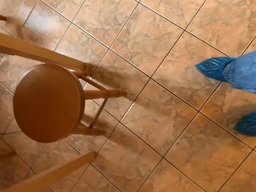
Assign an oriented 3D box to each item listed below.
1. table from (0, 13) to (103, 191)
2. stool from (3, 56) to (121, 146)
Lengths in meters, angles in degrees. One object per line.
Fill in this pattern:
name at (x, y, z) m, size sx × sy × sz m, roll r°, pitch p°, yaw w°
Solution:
table at (-0.840, 0.160, 1.010) m, size 1.140 × 0.800 × 0.670 m, roll -9°, pitch 86°, yaw 15°
stool at (-0.270, 0.030, 1.020) m, size 0.310 × 0.460 × 0.300 m, roll -8°, pitch 87°, yaw 15°
